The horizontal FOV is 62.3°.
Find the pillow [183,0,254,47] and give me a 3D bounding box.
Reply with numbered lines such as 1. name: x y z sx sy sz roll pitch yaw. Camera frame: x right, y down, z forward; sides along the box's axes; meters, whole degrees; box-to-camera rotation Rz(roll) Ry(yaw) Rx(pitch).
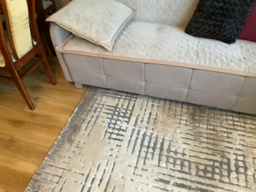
1. pillow: 0.640 -0.600 1.550 0.350 0.340 0.160 21 48 6

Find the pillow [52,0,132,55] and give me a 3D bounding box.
1. pillow: -0.240 -0.610 1.660 0.370 0.230 0.590 13 46 14
